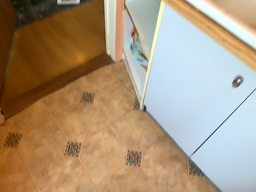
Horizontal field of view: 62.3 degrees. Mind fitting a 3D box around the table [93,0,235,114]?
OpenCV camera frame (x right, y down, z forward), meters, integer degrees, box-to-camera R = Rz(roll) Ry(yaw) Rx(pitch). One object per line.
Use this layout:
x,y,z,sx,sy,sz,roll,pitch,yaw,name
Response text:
0.170,-0.400,1.200,0.550,0.850,0.450,-32,65,-23,table
